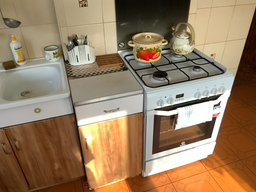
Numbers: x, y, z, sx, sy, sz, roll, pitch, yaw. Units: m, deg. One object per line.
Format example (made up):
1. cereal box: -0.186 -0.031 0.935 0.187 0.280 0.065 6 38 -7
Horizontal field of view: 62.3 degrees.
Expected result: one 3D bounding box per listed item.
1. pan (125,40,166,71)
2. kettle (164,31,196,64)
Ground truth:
1. pan: 0.120 -0.300 1.540 0.230 0.120 0.220 -9 35 -13
2. kettle: 0.390 -0.370 1.610 0.160 0.190 0.150 -9 35 -13
